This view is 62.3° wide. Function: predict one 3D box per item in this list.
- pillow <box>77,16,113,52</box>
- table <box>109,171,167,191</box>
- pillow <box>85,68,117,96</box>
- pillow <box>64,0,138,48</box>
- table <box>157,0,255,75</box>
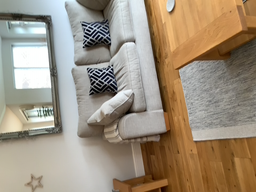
[{"bbox_3d":[-0.450,-0.830,2.880,0.200,0.390,0.410,135,127,-60],"label":"pillow"},{"bbox_3d":[0.140,1.400,2.810,0.650,0.530,0.620,147,116,-64],"label":"table"},{"bbox_3d":[-0.370,-0.190,2.830,0.230,0.340,0.320,159,106,-66],"label":"pillow"},{"bbox_3d":[-0.410,-1.160,3.150,0.370,0.930,0.770,147,116,-64],"label":"pillow"},{"bbox_3d":[0.570,-0.840,1.500,0.650,0.460,1.230,152,112,-65],"label":"table"}]
